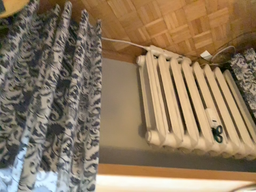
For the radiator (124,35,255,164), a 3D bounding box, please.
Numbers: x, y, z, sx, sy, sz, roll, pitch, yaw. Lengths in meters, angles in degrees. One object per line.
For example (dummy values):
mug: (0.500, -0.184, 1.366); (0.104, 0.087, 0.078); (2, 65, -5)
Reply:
radiator: (0.340, 0.010, 1.230); (0.680, 0.690, 0.170); (8, 143, -16)
